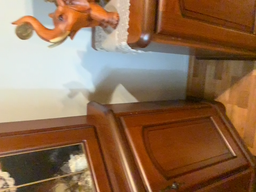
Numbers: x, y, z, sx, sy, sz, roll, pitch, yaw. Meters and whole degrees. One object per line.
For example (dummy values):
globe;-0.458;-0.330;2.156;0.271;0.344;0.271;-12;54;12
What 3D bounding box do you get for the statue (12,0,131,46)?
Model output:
statue;-0.220;-0.340;0.830;0.230;0.400;0.240;18;107;56
